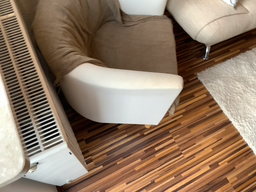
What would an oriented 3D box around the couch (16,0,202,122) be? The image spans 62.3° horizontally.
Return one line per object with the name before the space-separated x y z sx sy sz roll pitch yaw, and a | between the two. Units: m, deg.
couch | -0.070 -0.270 1.190 0.680 0.630 0.600 6 64 -3
